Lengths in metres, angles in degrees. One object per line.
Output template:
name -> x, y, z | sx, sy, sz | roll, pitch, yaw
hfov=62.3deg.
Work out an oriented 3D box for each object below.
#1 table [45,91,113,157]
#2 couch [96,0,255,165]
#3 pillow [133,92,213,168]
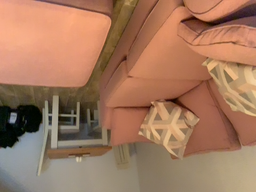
table -> -0.750, 0.440, 3.120 | 0.820, 0.760, 0.810 | 2, 159, -19
couch -> 0.480, -0.090, 1.590 | 1.050, 0.980, 1.900 | 2, 159, -20
pillow -> 0.380, 0.280, 1.870 | 0.500, 0.450, 0.180 | -35, 131, -4
